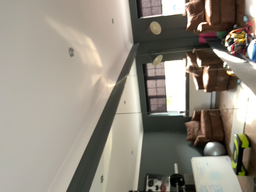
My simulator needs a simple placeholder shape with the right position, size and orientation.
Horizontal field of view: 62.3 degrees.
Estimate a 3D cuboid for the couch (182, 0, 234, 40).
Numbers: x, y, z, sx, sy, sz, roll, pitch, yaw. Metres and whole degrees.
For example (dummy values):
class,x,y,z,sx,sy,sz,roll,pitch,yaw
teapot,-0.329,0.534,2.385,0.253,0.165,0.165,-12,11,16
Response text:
class,x,y,z,sx,sy,sz,roll,pitch,yaw
couch,1.700,-1.870,4.670,0.930,0.860,0.970,-19,-74,-81
